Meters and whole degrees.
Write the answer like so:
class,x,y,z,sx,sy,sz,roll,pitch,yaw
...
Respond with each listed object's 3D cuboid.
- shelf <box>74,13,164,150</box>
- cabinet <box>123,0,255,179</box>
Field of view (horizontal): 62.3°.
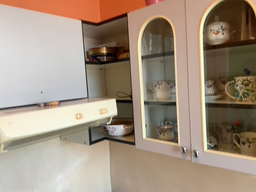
class,x,y,z,sx,sy,sz,roll,pitch,yaw
shelf,-0.050,-0.080,1.270,0.390,0.660,0.320,1,7,42
cabinet,0.330,-0.080,0.930,0.620,0.660,0.320,1,7,42
